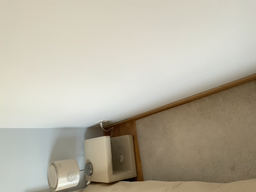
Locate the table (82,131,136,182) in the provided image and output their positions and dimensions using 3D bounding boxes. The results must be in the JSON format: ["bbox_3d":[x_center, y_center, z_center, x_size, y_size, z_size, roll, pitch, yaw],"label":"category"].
[{"bbox_3d":[-0.210,0.620,2.170,0.440,0.320,0.440,-25,66,46],"label":"table"}]
